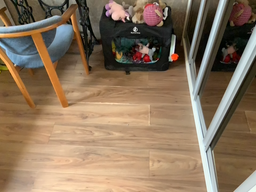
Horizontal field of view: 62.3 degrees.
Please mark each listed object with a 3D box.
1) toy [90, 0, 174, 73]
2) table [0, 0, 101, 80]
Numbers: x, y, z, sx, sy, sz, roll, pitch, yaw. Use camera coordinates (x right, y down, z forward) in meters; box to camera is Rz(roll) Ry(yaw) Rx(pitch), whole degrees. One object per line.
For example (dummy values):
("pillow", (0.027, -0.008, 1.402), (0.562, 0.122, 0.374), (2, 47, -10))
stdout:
("toy", (0.050, -0.560, 1.910), (0.630, 0.540, 0.400), (4, 49, 5))
("table", (-0.640, -0.620, 1.790), (0.660, 0.750, 0.590), (3, 49, 4))
